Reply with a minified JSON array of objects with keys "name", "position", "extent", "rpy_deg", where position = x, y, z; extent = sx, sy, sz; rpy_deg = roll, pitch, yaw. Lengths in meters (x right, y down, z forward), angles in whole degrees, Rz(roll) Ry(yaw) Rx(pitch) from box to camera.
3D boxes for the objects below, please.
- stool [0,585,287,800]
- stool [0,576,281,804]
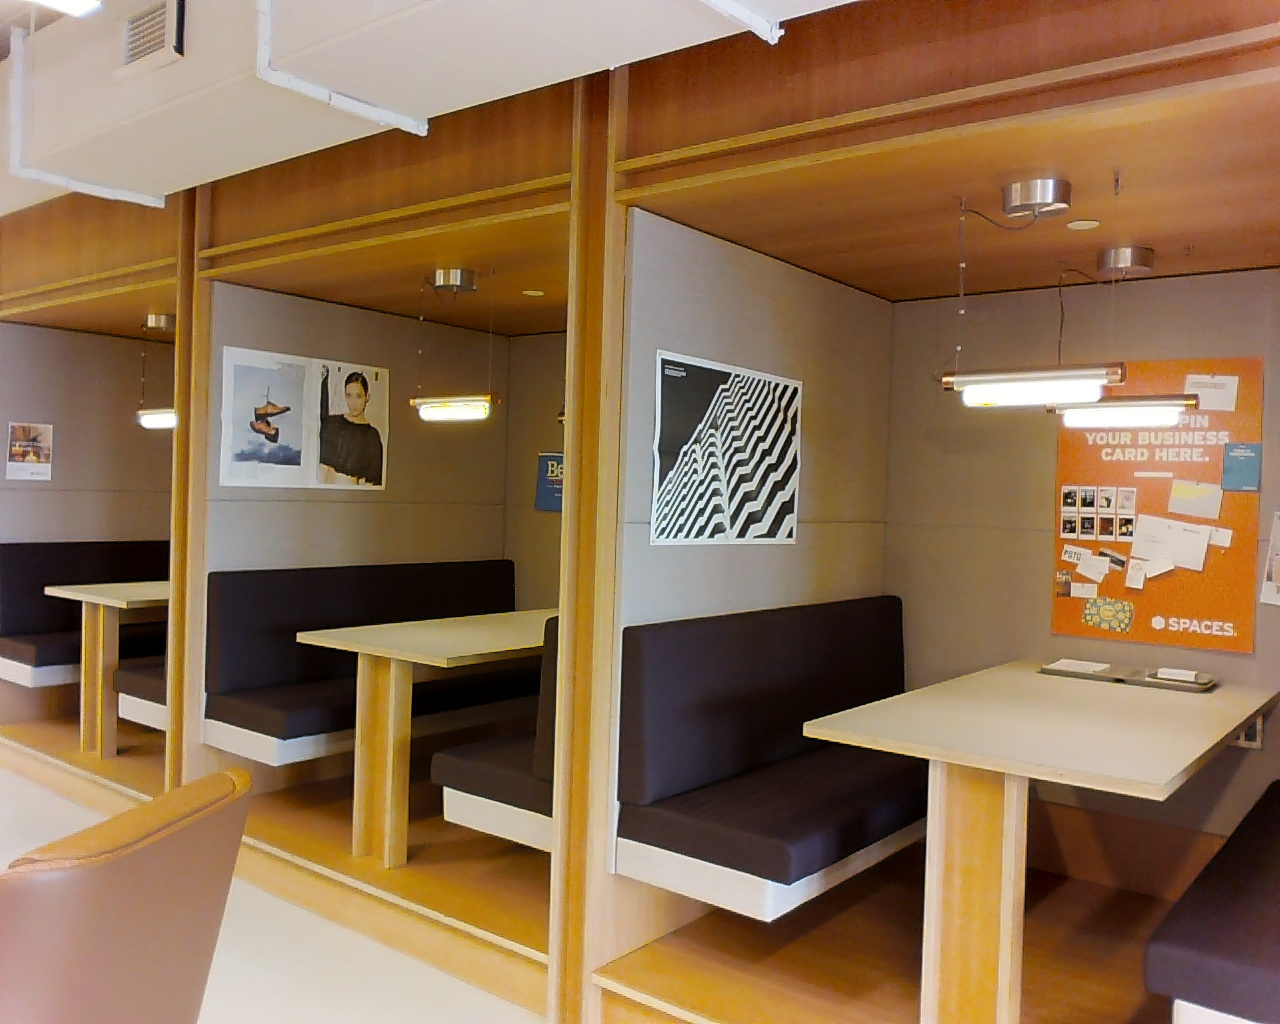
[{"name":"stool","position":[-2.699,0.860,5.510],"extent":[0.580,0.870,1.610],"rpy_deg":[2,0,38]},{"name":"stool","position":[-2.729,0.850,5.530],"extent":[0.570,0.950,1.590],"rpy_deg":[2,0,38]}]
